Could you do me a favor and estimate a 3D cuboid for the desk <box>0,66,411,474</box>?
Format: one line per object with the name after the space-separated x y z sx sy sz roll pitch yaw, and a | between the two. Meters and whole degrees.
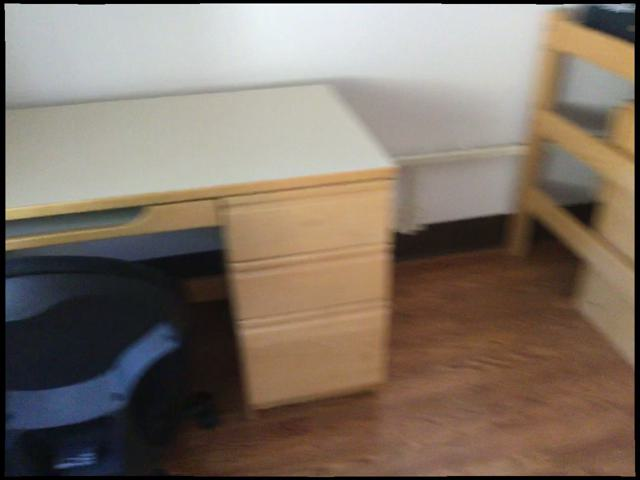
-0.539 0.040 1.690 1.347 0.771 0.790 -6 35 -9 | desk
